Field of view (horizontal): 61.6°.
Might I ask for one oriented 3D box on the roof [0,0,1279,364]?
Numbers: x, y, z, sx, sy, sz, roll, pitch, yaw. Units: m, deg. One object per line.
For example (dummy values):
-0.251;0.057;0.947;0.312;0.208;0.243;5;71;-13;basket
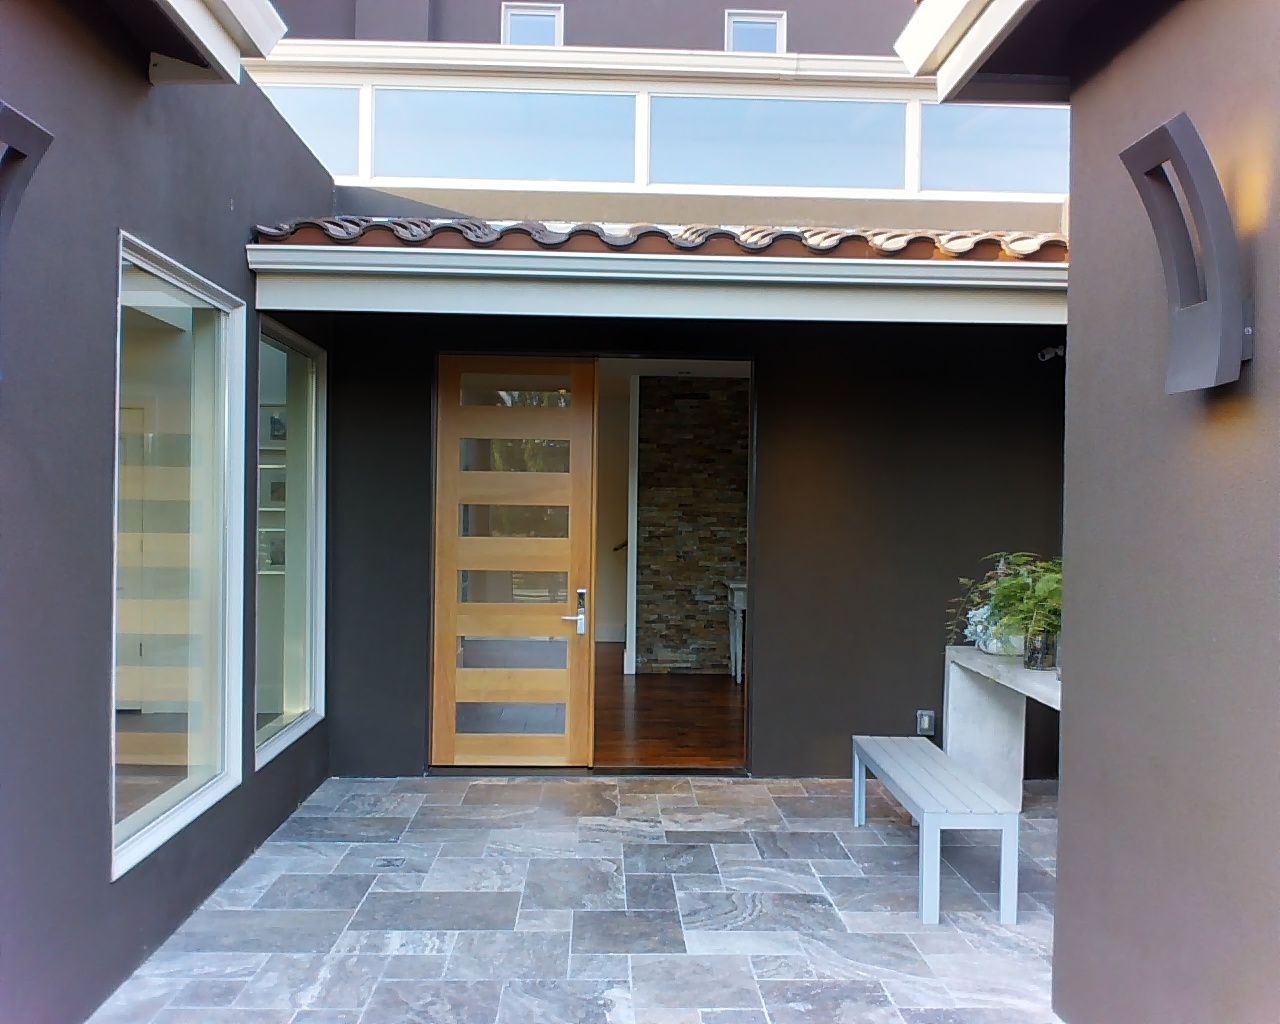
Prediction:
0.500;-1.280;2.800;4.230;0.860;6.660;0;0;-2;roof
